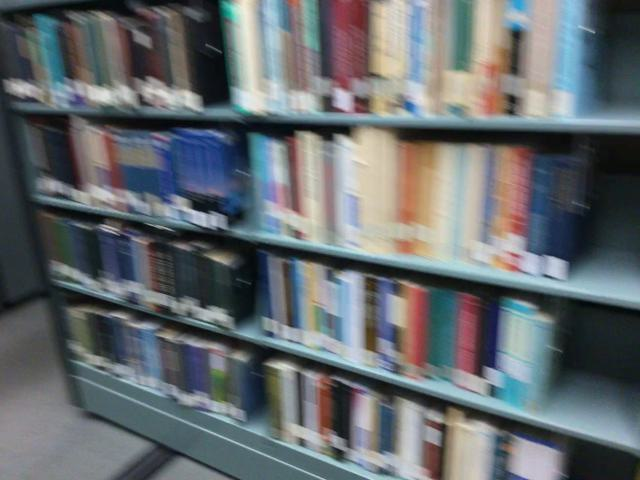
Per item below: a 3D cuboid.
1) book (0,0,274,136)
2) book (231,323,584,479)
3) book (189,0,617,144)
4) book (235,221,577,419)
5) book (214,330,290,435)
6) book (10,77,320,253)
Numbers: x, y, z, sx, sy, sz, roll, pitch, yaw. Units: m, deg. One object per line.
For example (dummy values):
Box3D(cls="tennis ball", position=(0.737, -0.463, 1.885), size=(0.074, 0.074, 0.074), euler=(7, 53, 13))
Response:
Box3D(cls="book", position=(-0.590, -0.540, 1.590), size=(0.920, 0.440, 0.230), euler=(5, 20, 33))
Box3D(cls="book", position=(0.190, 0.460, 1.510), size=(0.880, 0.300, 0.210), euler=(5, 20, 33))
Box3D(cls="book", position=(0.140, -0.400, 1.190), size=(0.810, 0.340, 0.270), euler=(5, 20, 33))
Box3D(cls="book", position=(0.180, 0.150, 1.400), size=(0.780, 0.310, 0.210), euler=(5, 20, 33))
Box3D(cls="book", position=(-0.200, 0.420, 1.720), size=(0.140, 0.250, 0.130), euler=(5, 20, 33))
Box3D(cls="book", position=(-0.480, -0.220, 1.670), size=(0.960, 0.390, 0.220), euler=(5, 20, 33))
